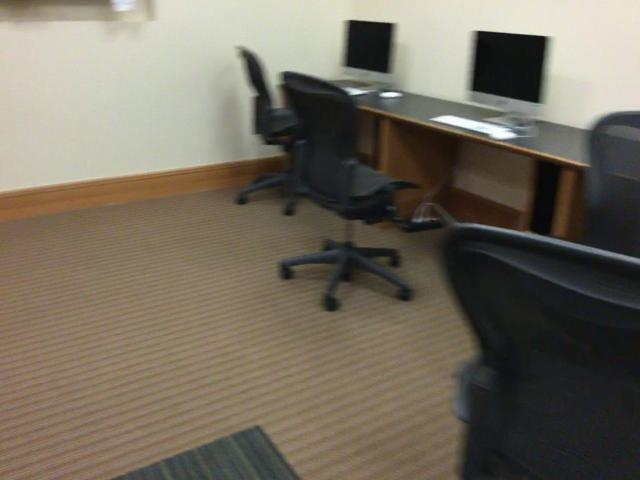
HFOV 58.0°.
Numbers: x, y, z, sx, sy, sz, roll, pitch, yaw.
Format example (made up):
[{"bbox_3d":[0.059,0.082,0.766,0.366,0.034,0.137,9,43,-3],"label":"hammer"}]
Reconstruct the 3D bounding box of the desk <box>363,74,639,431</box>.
[{"bbox_3d":[1.840,0.390,1.490,0.970,0.940,5.120,-9,25,-25],"label":"desk"}]
